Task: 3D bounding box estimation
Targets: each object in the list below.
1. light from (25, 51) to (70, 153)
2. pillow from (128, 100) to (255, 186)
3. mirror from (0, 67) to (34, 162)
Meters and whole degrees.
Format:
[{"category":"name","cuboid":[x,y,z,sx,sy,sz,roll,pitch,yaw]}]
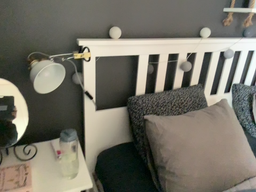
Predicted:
[{"category":"light","cuboid":[-0.380,0.030,1.020,0.150,0.450,0.160,-8,27,-25]},{"category":"pillow","cuboid":[0.360,0.230,1.020,0.570,0.440,0.240,-6,68,-22]},{"category":"mirror","cuboid":[-0.550,0.080,0.910,0.220,0.350,0.190,-8,27,-25]}]
